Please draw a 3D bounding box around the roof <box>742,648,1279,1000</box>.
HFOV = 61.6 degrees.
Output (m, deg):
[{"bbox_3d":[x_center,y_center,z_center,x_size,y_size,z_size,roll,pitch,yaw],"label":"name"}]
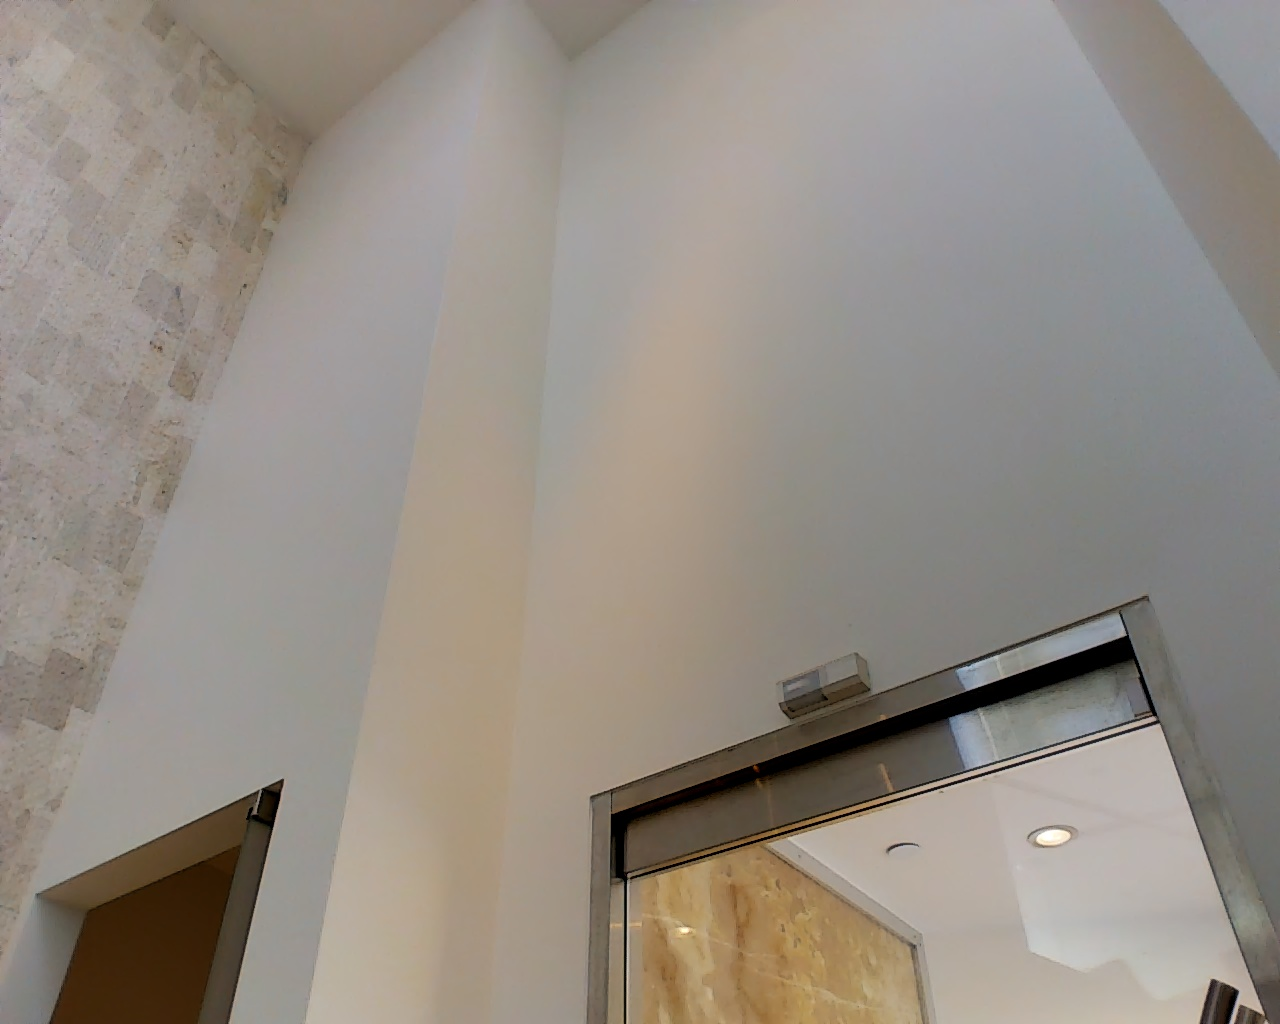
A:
[{"bbox_3d":[1.249,0.930,2.830,1.350,0.060,1.500,-27,-48,27],"label":"roof"}]
